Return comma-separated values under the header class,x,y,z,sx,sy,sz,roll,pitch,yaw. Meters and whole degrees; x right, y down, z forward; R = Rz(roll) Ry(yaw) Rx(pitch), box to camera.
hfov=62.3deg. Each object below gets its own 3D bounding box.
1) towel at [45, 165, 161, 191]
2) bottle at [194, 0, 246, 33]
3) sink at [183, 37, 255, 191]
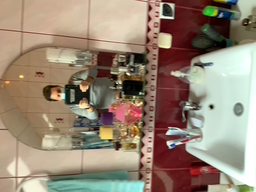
class,x,y,z,sx,sy,sz,roll,pitch,yaw
towel,-0.120,0.520,1.070,0.100,0.560,0.290,-178,90,-75
bottle,0.520,-0.490,1.200,0.100,0.250,0.210,-171,84,-74
sink,0.470,0.060,1.010,0.470,0.160,0.560,-173,86,-75
